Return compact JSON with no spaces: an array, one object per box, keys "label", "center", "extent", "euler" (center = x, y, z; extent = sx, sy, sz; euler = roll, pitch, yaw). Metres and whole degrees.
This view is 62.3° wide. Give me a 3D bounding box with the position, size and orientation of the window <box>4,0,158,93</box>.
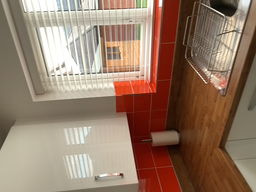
[{"label":"window","center":[-0.300,-0.560,1.540],"extent":[0.070,1.020,1.150],"euler":[-102,9,-55]}]
